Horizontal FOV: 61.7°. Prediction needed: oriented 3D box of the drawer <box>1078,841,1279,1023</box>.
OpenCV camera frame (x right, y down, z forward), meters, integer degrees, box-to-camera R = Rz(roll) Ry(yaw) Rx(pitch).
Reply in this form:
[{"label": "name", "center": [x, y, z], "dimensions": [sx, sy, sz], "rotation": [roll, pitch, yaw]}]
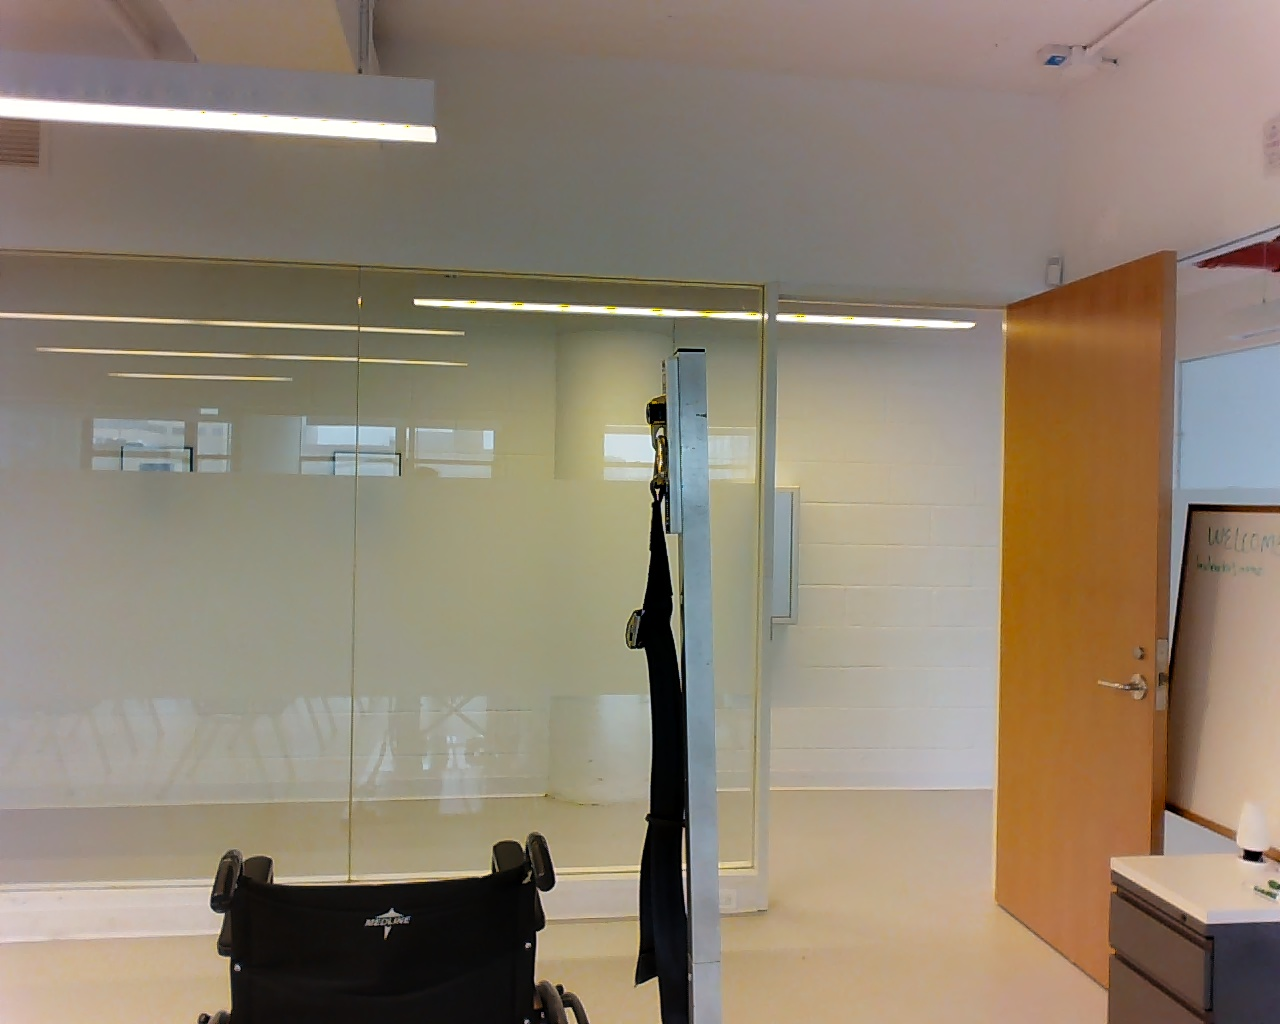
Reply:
[{"label": "drawer", "center": [1.390, 1.170, 2.560], "dimensions": [0.430, 0.600, 0.510], "rotation": [1, 0, -9]}]
